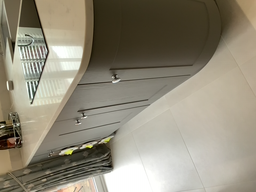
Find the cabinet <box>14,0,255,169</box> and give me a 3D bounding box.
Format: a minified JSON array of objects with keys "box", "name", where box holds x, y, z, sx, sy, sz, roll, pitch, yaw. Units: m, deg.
[{"box":[-0.270,0.060,1.650,2.050,0.890,0.380,-41,64,49],"name":"cabinet"}]
